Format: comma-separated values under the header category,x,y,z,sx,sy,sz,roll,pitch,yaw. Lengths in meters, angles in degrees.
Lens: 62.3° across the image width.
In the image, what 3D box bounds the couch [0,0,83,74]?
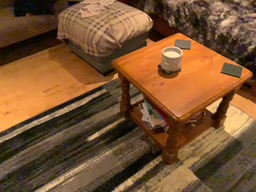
category,x,y,z,sx,sy,sz,roll,pitch,yaw
couch,-1.080,-0.760,2.020,1.030,0.690,0.560,-29,51,-25
